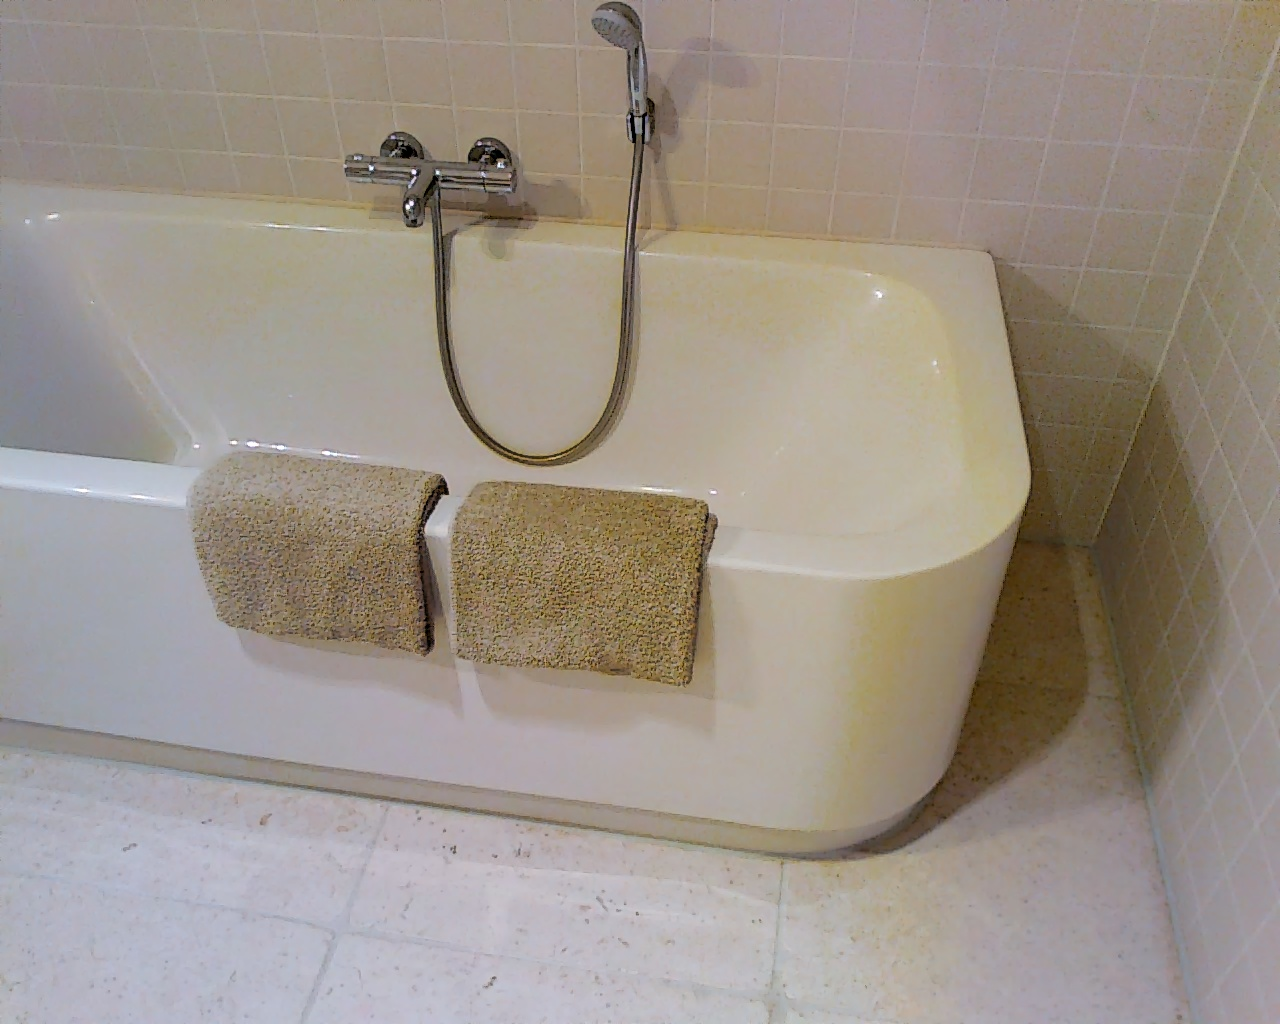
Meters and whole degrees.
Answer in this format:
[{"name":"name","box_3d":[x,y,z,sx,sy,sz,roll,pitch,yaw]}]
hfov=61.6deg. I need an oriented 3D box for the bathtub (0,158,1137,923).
[{"name":"bathtub","box_3d":[-0.380,-0.040,1.730,1.930,0.630,0.850,6,41,7]}]
